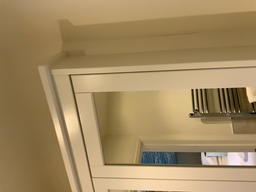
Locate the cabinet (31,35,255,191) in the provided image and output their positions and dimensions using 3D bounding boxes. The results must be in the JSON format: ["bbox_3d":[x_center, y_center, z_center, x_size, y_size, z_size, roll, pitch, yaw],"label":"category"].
[{"bbox_3d":[0.290,0.240,0.730,0.160,1.010,0.840,-76,-17,-64],"label":"cabinet"}]
